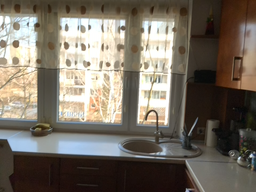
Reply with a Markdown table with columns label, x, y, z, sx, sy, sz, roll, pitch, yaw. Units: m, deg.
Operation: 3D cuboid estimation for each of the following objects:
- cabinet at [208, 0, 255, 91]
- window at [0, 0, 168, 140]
| label | x | y | z | sx | sy | sz | roll | pitch | yaw |
| --- | --- | --- | --- | --- | --- | --- | --- | --- | --- |
| cabinet | 1.000 | -0.540 | 1.600 | 0.310 | 0.970 | 1.090 | 3 | 6 | 0 |
| window | -1.030 | -0.460 | 2.360 | 2.820 | 1.710 | 0.240 | 3 | 6 | 1 |
